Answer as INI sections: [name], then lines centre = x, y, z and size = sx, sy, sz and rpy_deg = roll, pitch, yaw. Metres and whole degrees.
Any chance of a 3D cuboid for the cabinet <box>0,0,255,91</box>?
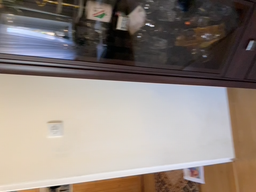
[cabinet]
centre = 0.080, -0.420, 1.210
size = 0.430, 1.990, 0.600
rpy_deg = -126, 44, -53
